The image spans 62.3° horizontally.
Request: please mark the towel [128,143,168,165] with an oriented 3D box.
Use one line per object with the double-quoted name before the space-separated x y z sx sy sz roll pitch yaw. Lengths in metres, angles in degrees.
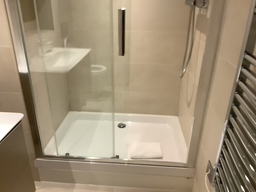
"towel" 0.160 0.480 1.770 0.310 0.050 0.210 2 25 1
